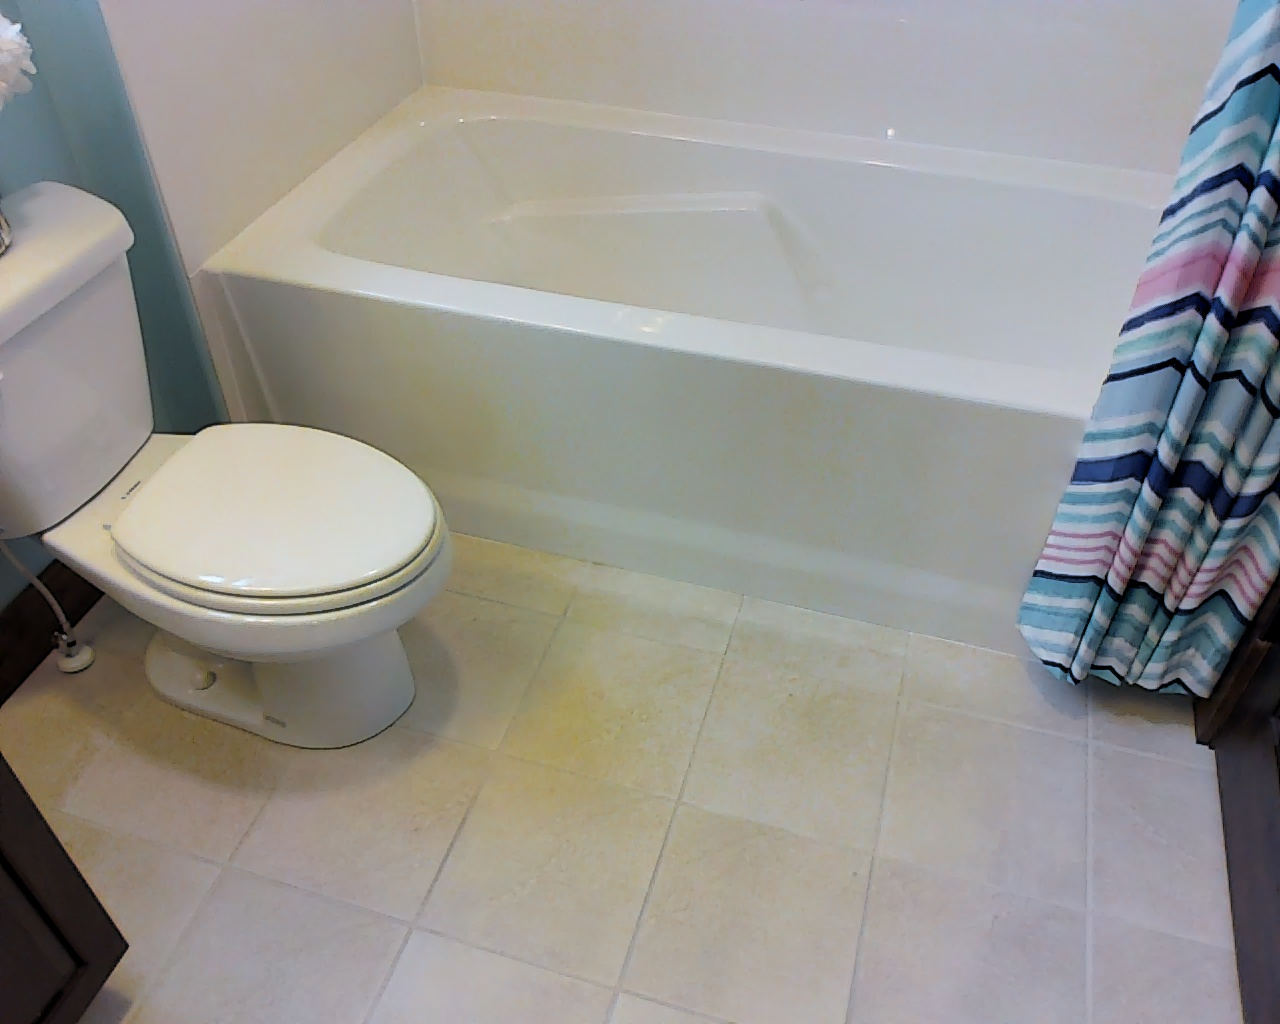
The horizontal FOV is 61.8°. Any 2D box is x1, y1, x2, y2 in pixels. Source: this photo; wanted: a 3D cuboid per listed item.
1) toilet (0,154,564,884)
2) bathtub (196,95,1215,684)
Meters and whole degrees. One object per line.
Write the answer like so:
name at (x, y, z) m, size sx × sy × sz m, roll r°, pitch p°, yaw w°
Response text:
toilet at (-0.620, -0.010, 1.590) m, size 0.820 × 0.740 × 0.590 m, roll 11°, pitch 43°, yaw 13°
bathtub at (0.150, -0.340, 2.140) m, size 1.620 × 0.500 × 0.910 m, roll 11°, pitch 43°, yaw 13°
